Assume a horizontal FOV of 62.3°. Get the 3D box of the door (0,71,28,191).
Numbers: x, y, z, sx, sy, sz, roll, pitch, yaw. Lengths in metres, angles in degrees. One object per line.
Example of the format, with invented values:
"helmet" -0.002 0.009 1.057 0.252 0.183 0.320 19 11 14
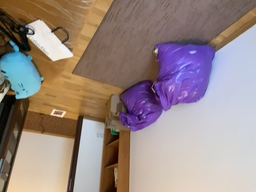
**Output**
"door" -1.510 0.800 2.550 0.080 2.120 0.810 12 151 -19
